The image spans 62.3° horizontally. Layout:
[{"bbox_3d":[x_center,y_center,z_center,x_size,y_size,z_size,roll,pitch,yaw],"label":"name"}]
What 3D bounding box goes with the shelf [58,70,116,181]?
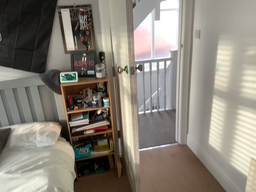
[{"bbox_3d":[-0.390,0.310,2.170,0.430,1.070,0.290,-7,22,-10],"label":"shelf"}]
